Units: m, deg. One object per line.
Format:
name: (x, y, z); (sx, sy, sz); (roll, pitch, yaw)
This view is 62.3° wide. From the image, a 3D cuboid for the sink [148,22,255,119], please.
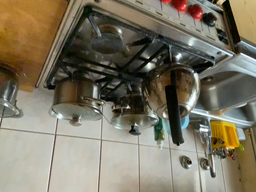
sink: (0.380, -0.070, 0.990); (0.390, 0.180, 0.430); (13, 152, -27)
